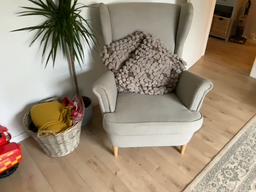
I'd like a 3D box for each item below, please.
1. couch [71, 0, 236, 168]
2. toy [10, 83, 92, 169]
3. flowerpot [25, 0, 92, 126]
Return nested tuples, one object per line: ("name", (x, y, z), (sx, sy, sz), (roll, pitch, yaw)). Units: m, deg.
("couch", (0.110, -0.160, 1.720), (0.800, 1.000, 1.000), (0, 35, -1))
("toy", (-0.590, 0.210, 1.660), (0.440, 0.380, 0.400), (-20, 40, -27))
("flowerpot", (-0.540, -0.290, 1.760), (0.300, 1.100, 0.260), (-23, 42, -30))
